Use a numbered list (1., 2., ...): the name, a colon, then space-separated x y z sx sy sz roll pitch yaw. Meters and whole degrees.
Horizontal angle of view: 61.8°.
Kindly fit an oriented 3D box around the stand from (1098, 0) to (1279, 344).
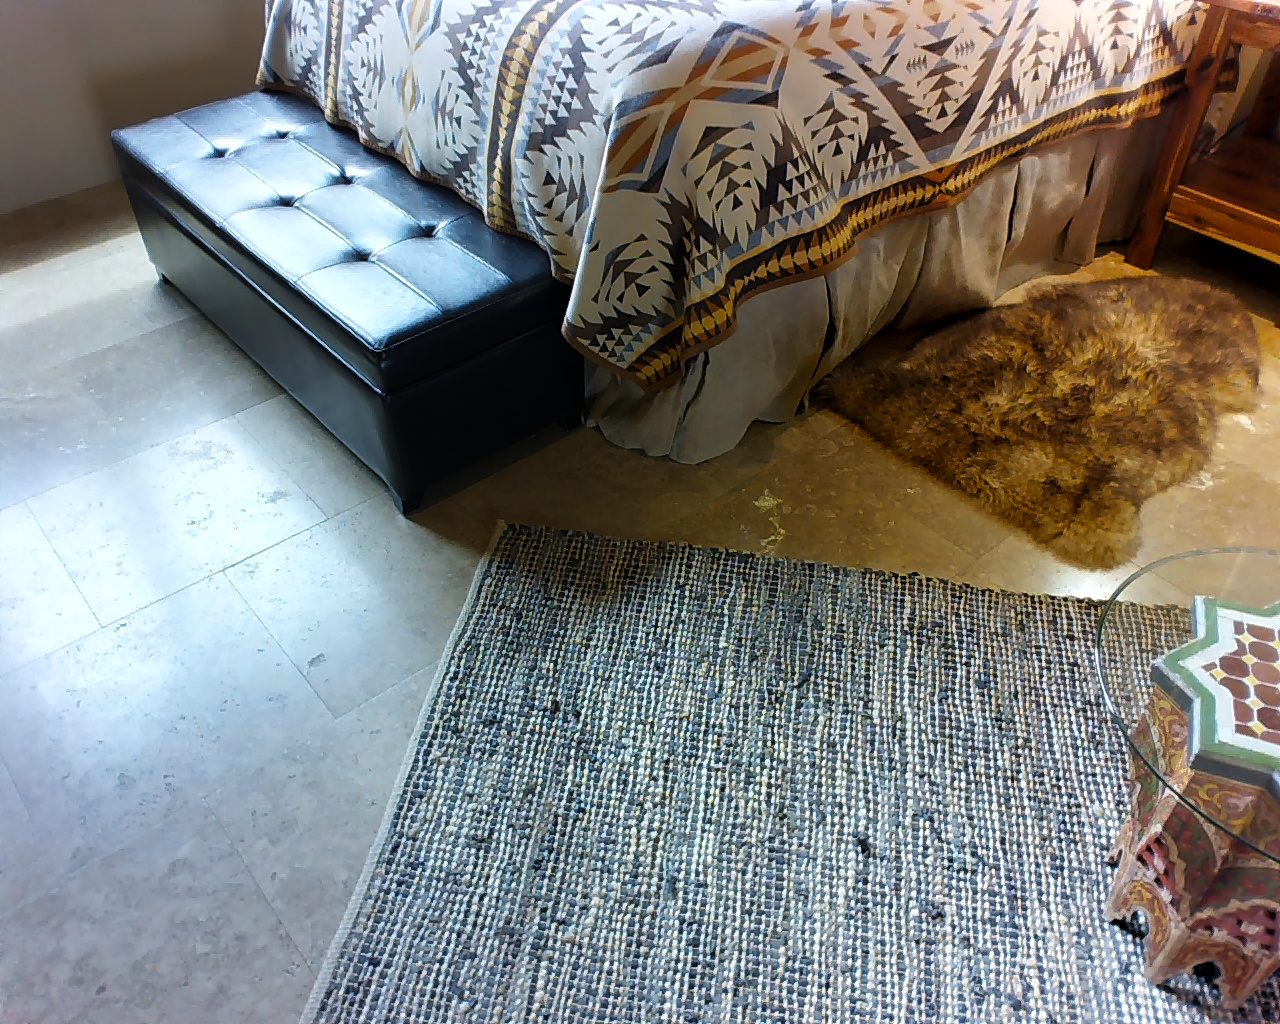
1. stand: 1.680 -0.900 2.690 0.590 0.670 0.600 -29 49 -28
